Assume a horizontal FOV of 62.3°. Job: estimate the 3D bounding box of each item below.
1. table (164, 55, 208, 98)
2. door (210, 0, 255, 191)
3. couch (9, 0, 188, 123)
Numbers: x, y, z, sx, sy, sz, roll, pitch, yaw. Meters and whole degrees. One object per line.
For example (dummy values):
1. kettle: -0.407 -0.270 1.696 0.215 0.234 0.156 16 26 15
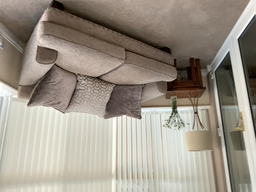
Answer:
1. table: 0.850 -0.280 3.220 0.550 0.480 0.470 -3 163 6
2. door: 1.210 0.250 2.210 0.070 2.100 1.840 -3 163 9
3. couch: -0.310 -0.250 2.600 1.780 0.850 1.070 12 159 -34
